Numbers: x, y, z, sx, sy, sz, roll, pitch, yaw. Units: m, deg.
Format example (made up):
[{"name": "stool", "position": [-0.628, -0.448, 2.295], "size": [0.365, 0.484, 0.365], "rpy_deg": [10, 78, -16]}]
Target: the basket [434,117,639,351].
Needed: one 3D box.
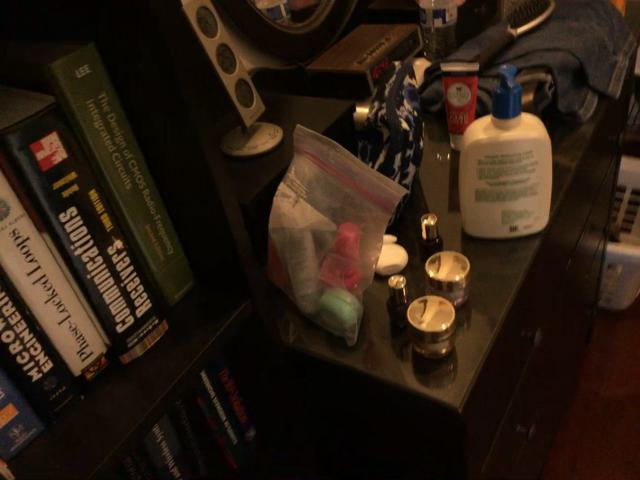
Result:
[{"name": "basket", "position": [0.810, -0.060, 1.840], "size": [0.660, 0.360, 0.620], "rpy_deg": [12, 45, 32]}]

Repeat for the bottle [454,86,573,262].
[{"name": "bottle", "position": [0.230, -0.080, 0.680], "size": [0.090, 0.150, 0.130], "rpy_deg": [12, 45, 32]}]

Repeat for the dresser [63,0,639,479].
[{"name": "dresser", "position": [0.290, 0.120, 1.200], "size": [0.540, 1.020, 1.070], "rpy_deg": [12, 45, 32]}]
